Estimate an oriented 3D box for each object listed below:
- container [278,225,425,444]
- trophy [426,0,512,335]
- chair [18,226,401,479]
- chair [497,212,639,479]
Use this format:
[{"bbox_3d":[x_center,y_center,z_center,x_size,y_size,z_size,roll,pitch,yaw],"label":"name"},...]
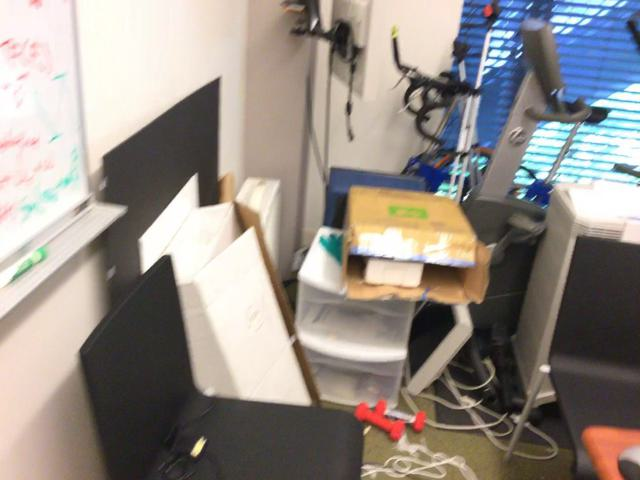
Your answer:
[{"bbox_3d":[0.120,0.300,2.040,0.410,0.520,0.540,7,21,6],"label":"container"},{"bbox_3d":[0.630,-0.300,2.560,0.110,1.430,0.360,7,21,6],"label":"trophy"},{"bbox_3d":[-0.170,0.470,1.280,0.600,0.800,0.560,7,21,6],"label":"chair"},{"bbox_3d":[0.810,0.430,1.490,0.450,0.800,0.660,7,21,6],"label":"chair"}]
